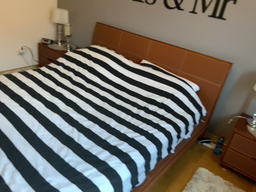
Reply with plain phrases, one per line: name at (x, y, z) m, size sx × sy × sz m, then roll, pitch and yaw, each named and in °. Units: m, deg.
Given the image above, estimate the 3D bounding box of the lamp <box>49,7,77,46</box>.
lamp at (-0.980, -1.050, 3.200) m, size 0.270 × 0.500 × 0.270 m, roll 25°, pitch 31°, yaw 28°
